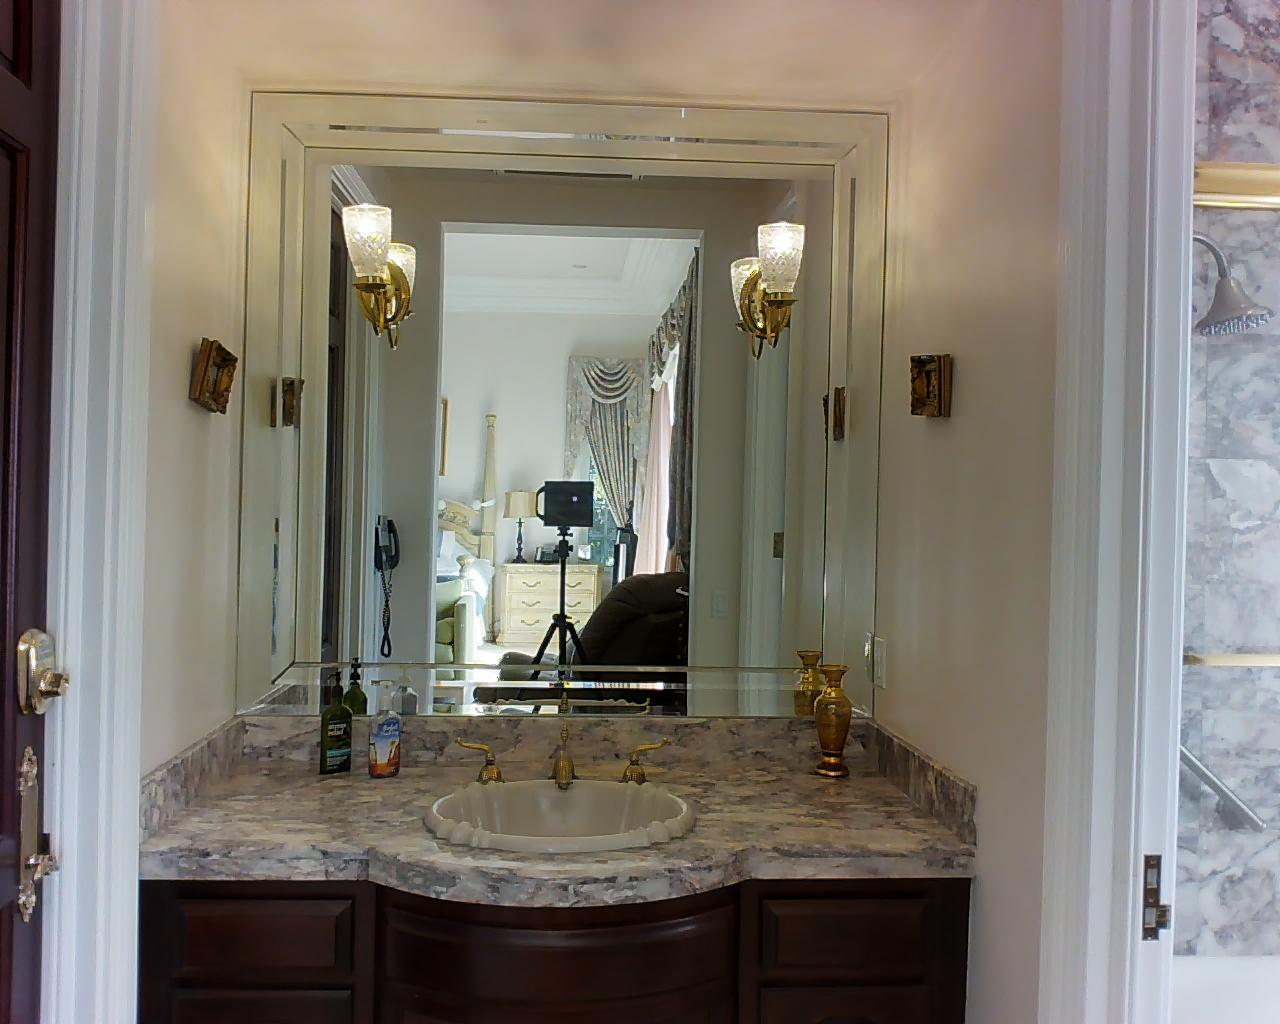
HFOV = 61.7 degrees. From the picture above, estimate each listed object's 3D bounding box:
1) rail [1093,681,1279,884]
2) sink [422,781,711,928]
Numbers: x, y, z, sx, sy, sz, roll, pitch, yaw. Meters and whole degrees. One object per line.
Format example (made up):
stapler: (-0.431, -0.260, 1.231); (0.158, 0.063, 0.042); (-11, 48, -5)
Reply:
rail: (1.320, 0.640, 2.550); (0.450, 0.460, 0.080); (1, -1, -3)
sink: (-0.140, 0.660, 2.100); (0.520, 0.180, 0.330); (0, -1, -3)
